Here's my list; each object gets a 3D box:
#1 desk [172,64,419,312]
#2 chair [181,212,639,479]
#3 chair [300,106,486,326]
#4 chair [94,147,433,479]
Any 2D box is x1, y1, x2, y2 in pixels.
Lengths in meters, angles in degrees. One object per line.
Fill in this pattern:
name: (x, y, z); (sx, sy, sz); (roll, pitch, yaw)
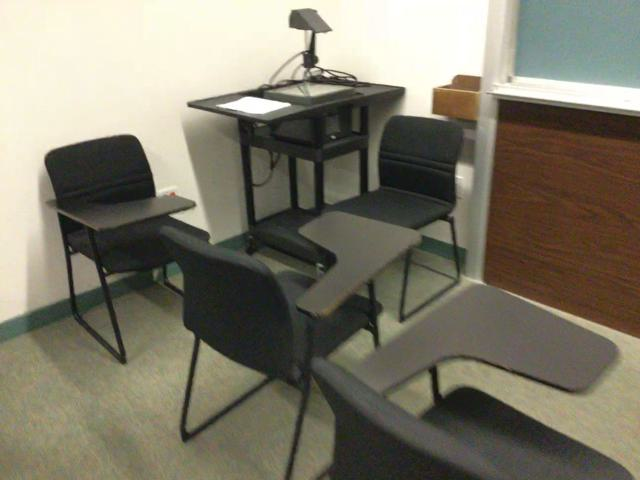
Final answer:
desk: (-0.120, -0.340, 2.990); (0.980, 0.960, 0.690); (-19, 32, -39)
chair: (0.270, 0.490, 1.210); (0.840, 0.780, 0.640); (-19, 32, -39)
chair: (0.320, -0.150, 2.670); (0.650, 0.780, 0.480); (-19, 32, -39)
chair: (-0.180, 0.220, 1.860); (0.720, 0.800, 0.690); (-19, 32, -39)
